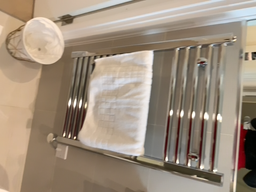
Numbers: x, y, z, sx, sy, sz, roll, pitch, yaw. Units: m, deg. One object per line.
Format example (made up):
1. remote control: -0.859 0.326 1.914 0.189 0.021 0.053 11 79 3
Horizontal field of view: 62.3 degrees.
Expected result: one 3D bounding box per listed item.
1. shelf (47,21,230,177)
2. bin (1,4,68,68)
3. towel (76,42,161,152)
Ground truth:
1. shelf: -0.040 -0.010 1.070 0.090 0.970 0.560 10 84 -55
2. bin: -0.550 -0.330 1.250 0.210 0.300 0.270 12 82 -55
3. towel: -0.050 0.000 0.960 0.110 0.340 0.430 12 82 -55
